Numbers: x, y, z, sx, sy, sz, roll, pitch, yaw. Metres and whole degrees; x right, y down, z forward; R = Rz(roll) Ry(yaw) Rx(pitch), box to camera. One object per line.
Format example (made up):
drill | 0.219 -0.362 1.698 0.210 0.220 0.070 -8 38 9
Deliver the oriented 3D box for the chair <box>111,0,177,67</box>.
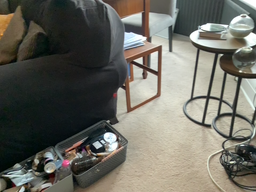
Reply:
chair | 0.190 -0.890 2.310 0.450 0.910 0.580 22 41 32

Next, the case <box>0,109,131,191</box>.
case | -0.340 0.380 1.130 0.740 0.260 0.230 -28 41 -31
